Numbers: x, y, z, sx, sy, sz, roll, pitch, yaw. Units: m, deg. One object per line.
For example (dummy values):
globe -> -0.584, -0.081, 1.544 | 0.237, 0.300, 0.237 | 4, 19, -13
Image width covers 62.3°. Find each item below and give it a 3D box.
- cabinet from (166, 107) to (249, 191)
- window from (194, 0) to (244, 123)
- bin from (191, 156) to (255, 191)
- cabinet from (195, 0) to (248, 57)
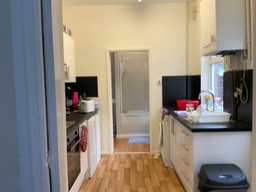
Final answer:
cabinet -> 0.910, 0.700, 2.770 | 0.590, 0.950, 1.230 | -1, 4, -2
window -> 1.330, -0.530, 3.240 | 0.310, 1.690, 1.040 | -1, 4, 1
bin -> 0.930, 0.910, 1.990 | 0.580, 0.580, 0.350 | -1, 4, 0
cabinet -> 1.010, -0.930, 2.360 | 0.370, 0.910, 0.510 | -1, 4, 0
